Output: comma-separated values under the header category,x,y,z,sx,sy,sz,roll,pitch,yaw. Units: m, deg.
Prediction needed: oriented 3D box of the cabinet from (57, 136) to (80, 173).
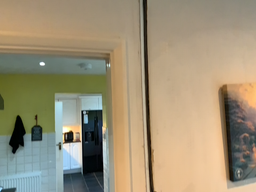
category,x,y,z,sx,sy,sz,roll,pitch,yaw
cabinet,-1.730,1.670,6.140,0.610,0.880,0.520,-2,-3,-18

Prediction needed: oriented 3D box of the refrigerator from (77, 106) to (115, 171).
category,x,y,z,sx,sy,sz,roll,pitch,yaw
refrigerator,-0.980,1.210,6.370,0.960,1.750,0.600,-2,-3,-18
